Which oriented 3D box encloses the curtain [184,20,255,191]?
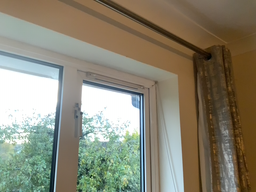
[{"bbox_3d":[0.550,0.380,1.210,0.270,1.610,0.230,11,-17,-37],"label":"curtain"}]
